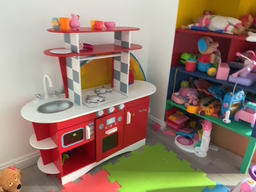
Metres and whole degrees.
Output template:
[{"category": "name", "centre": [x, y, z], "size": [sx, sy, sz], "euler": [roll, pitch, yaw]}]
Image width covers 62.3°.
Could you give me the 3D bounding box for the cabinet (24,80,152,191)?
[{"category": "cabinet", "centre": [-0.260, 0.230, 1.610], "size": [0.840, 0.500, 0.340], "euler": [-15, 29, -36]}]
